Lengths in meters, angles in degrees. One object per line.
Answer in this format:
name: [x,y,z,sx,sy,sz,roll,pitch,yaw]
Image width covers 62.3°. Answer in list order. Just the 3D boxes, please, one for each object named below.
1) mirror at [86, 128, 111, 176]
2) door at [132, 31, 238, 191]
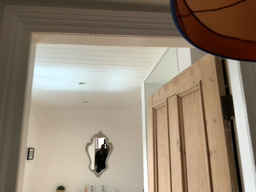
mirror: [-0.570,1.080,4.150,0.450,0.880,0.130,2,-15,-11]
door: [0.250,0.790,1.100,0.080,2.070,0.790,6,-16,-23]
